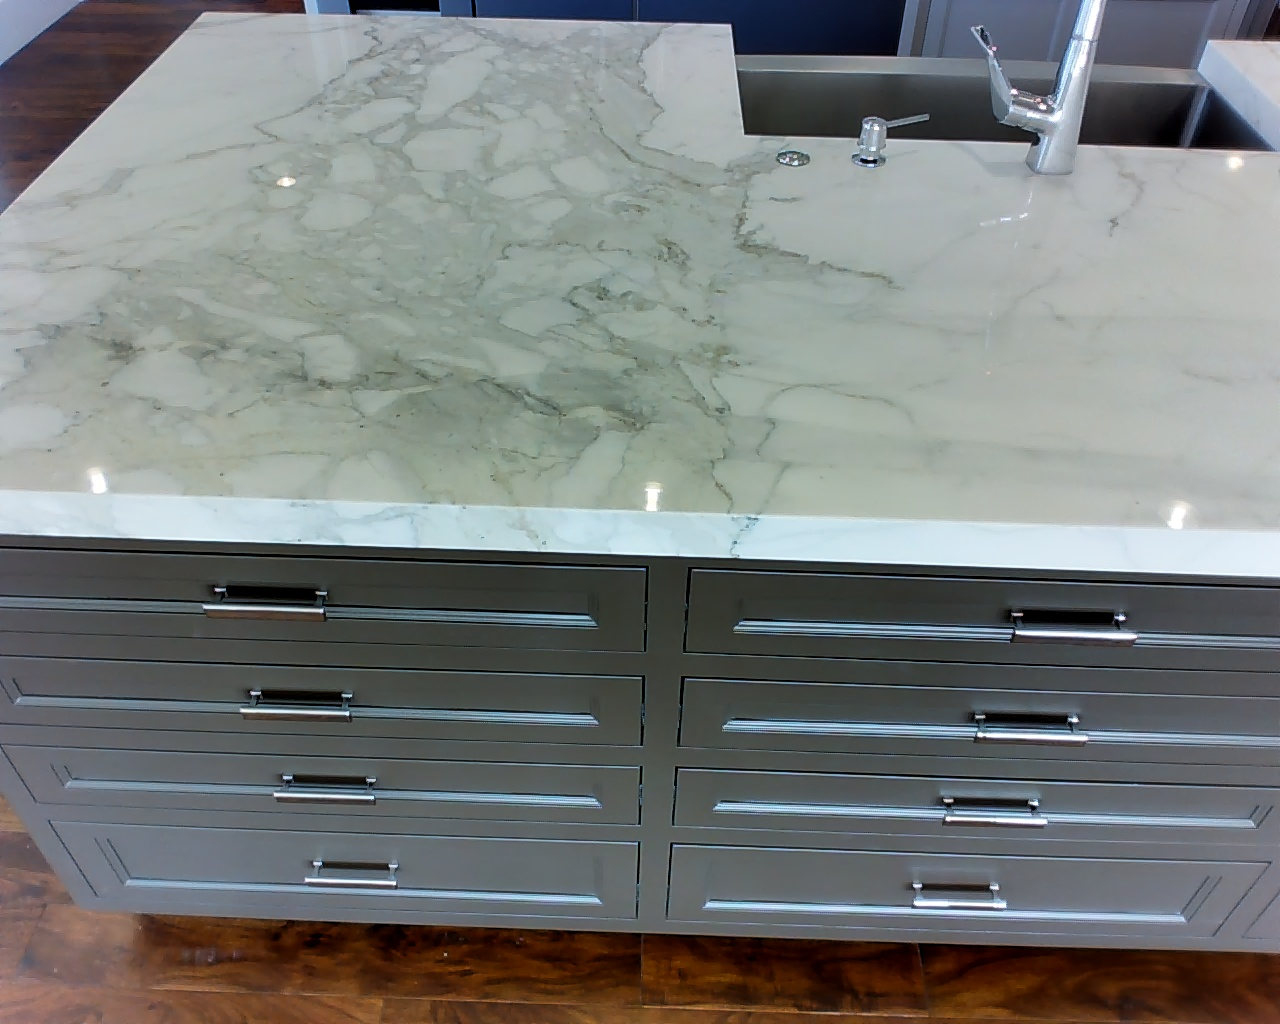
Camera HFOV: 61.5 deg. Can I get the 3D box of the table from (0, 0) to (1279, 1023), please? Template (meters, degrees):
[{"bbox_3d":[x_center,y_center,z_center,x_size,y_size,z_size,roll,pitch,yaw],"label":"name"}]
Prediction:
[{"bbox_3d":[1.900,-0.050,1.710,5.470,0.980,1.430,2,42,1],"label":"table"}]
